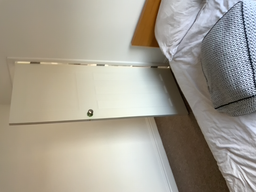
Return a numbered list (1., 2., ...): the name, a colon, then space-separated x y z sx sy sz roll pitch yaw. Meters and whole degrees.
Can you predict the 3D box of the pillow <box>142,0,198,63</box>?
1. pillow: 0.350 -0.650 1.960 0.590 0.150 0.380 117 146 -50
